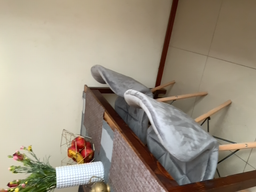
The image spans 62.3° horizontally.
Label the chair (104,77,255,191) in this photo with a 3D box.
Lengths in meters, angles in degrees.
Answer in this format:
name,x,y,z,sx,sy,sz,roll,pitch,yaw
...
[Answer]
name,x,y,z,sx,sy,sz,roll,pitch,yaw
chair,0.320,0.240,1.050,0.410,0.730,0.540,-140,55,-60
